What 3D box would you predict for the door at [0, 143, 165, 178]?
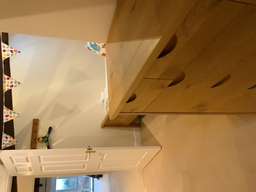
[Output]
[{"bbox_3d":[-0.640,0.930,3.040,1.080,2.070,0.110,116,152,-53],"label":"door"}]
